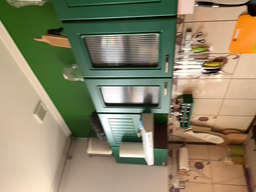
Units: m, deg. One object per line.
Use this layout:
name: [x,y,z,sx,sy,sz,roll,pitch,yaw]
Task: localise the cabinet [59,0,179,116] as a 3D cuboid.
cabinet: [0.000,-0.210,1.450,0.770,0.610,0.310,79,-166,-52]
